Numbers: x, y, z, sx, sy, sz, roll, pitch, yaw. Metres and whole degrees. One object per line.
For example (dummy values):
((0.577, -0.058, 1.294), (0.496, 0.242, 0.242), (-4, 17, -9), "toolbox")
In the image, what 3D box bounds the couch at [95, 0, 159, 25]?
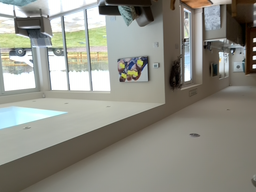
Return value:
((-0.060, -1.670, 3.630), (0.880, 0.720, 0.810), (-5, -172, -18), "couch")
